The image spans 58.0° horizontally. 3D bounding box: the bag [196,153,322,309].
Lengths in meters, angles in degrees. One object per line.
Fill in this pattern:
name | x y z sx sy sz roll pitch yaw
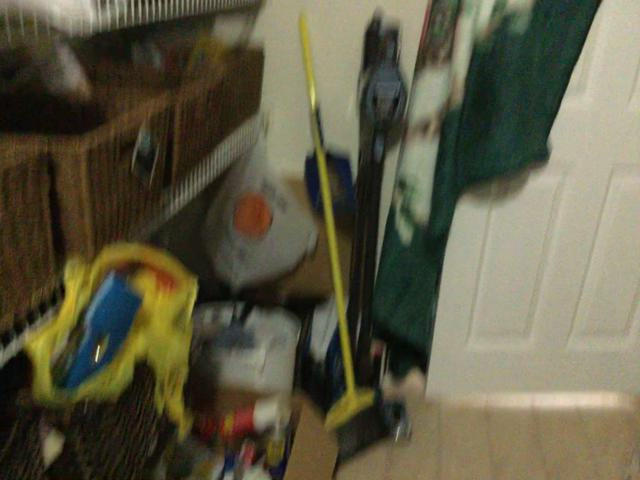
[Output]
bag | -0.180 -0.030 1.810 0.340 0.430 0.160 6 26 11
